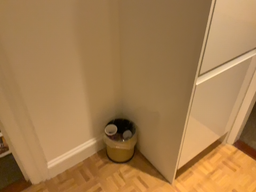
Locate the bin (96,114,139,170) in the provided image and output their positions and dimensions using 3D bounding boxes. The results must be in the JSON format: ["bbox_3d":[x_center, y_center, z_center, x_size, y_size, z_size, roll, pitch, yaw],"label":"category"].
[{"bbox_3d":[-0.080,0.350,1.650,0.230,0.280,0.230,-25,44,-29],"label":"bin"}]
